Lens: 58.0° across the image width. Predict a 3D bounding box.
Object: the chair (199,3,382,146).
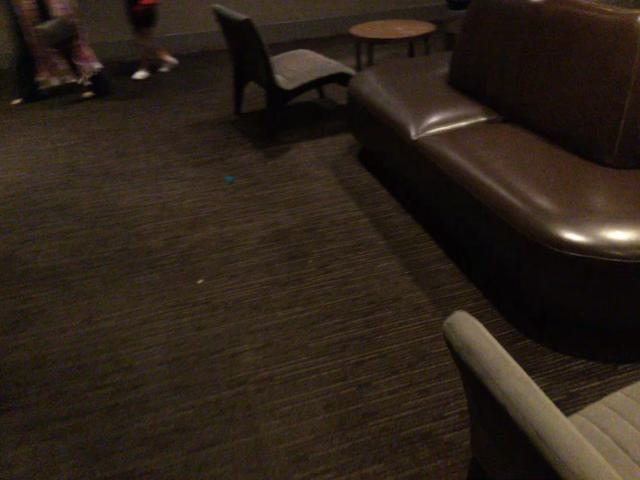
[{"bbox_3d":[-0.210,-1.070,3.610,0.830,0.700,0.810,-10,28,-26],"label":"chair"}]
